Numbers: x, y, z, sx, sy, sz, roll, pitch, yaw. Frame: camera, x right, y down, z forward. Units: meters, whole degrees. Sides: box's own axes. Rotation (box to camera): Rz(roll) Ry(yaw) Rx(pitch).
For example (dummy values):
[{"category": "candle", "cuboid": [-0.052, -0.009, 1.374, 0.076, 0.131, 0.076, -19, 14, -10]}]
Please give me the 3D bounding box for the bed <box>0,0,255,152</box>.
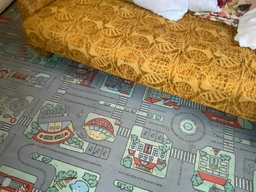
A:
[{"category": "bed", "cuboid": [0.380, -0.410, 1.520, 2.190, 0.430, 1.070, 21, 55, 13]}]
